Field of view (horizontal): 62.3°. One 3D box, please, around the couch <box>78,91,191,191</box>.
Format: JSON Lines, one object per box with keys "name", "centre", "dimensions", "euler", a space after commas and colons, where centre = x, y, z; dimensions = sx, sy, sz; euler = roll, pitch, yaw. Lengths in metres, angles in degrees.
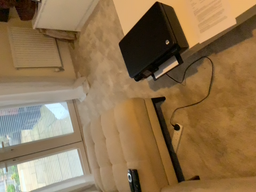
{"name": "couch", "centre": [-0.010, 0.440, 1.900], "dimensions": [0.860, 0.420, 0.660], "euler": [-32, 70, 49]}
